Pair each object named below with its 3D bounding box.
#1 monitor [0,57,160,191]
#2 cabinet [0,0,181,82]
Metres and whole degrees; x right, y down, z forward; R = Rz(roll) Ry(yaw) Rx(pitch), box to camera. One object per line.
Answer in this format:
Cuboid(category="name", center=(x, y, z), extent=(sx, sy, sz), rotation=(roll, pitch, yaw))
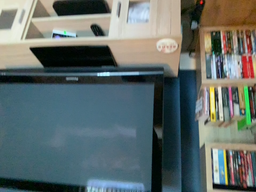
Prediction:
Cuboid(category="monitor", center=(-0.330, 0.110, 1.130), extent=(0.970, 0.680, 0.060), rotation=(1, 158, 11))
Cuboid(category="cabinet", center=(-0.280, -0.410, 1.380), extent=(1.180, 0.460, 0.480), rotation=(1, 158, 10))
